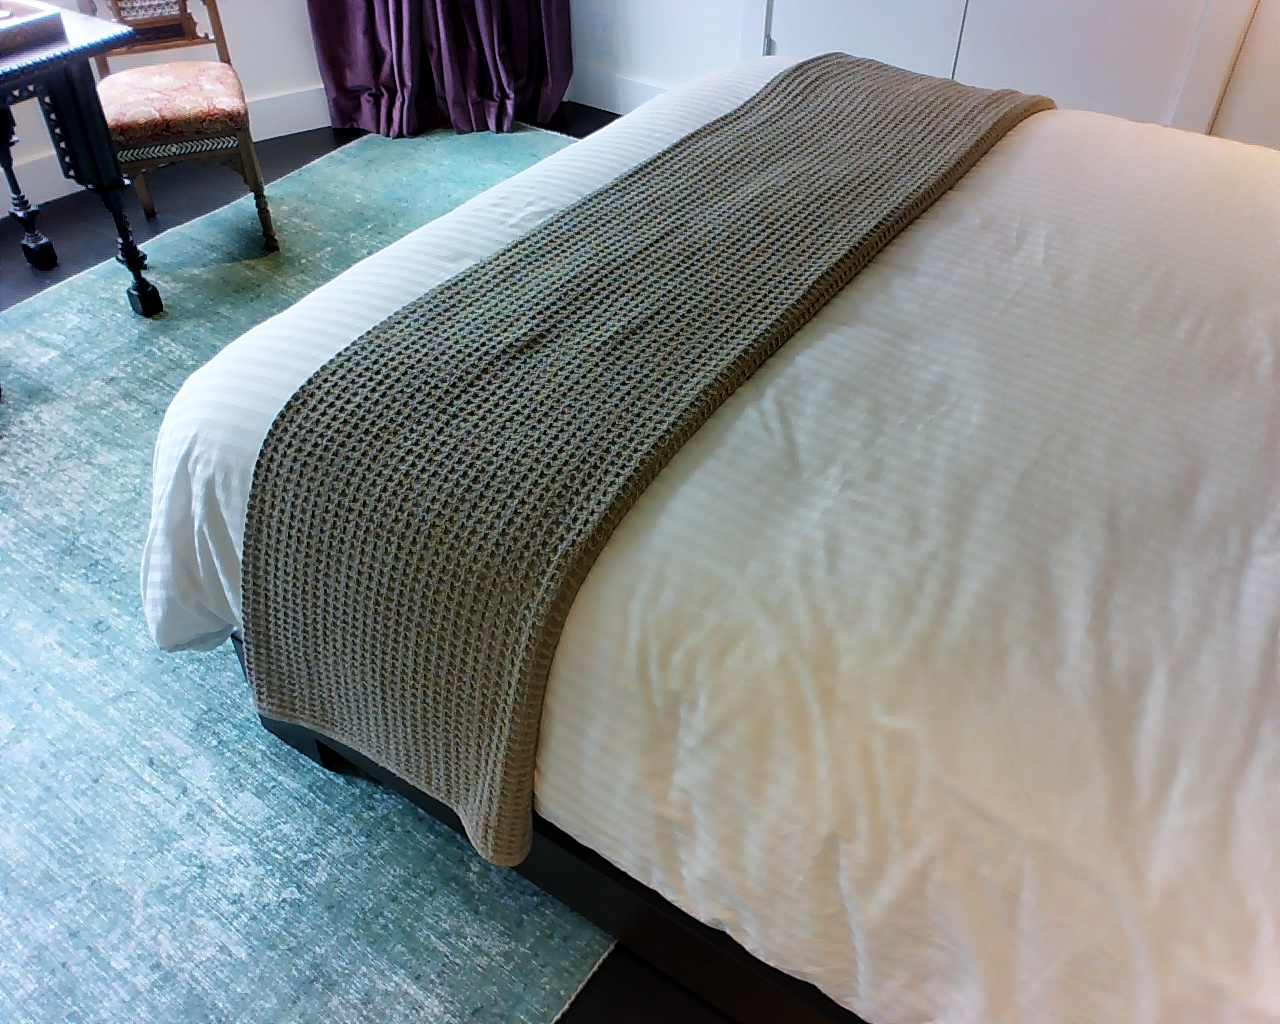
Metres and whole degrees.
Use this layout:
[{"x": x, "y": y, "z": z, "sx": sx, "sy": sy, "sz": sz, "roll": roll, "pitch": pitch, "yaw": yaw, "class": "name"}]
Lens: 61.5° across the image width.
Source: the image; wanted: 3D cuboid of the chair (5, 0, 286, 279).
[{"x": -1.330, "y": -1.270, "z": 2.940, "sx": 0.490, "sy": 1.020, "sz": 0.610, "roll": -9, "pitch": 43, "yaw": -11, "class": "chair"}]

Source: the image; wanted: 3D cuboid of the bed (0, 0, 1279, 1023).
[{"x": 0.640, "y": -0.070, "z": 1.610, "sx": 2.380, "sy": 1.060, "sz": 1.920, "roll": 24, "pitch": 47, "yaw": 24, "class": "bed"}]
